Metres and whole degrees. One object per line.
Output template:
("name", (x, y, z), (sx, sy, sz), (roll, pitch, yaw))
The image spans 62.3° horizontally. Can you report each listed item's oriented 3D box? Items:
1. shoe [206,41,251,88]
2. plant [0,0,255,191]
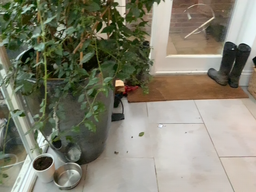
("shoe", (0.990, -0.320, 2.140), (0.260, 0.390, 0.250), (3, 36, 2))
("plant", (-0.050, -0.560, 0.910), (1.000, 2.200, 0.960), (3, 36, 2))
